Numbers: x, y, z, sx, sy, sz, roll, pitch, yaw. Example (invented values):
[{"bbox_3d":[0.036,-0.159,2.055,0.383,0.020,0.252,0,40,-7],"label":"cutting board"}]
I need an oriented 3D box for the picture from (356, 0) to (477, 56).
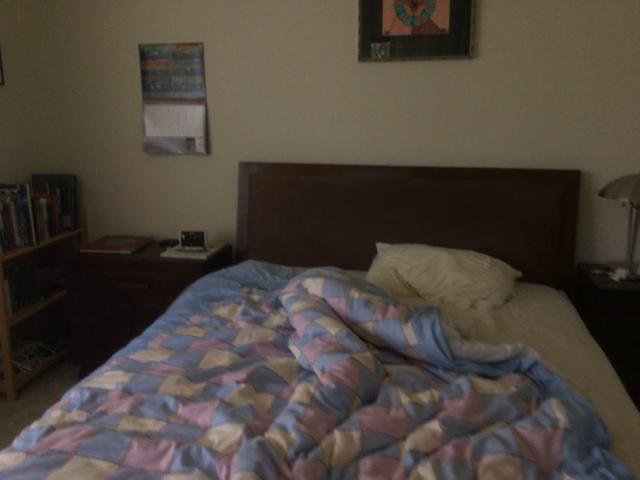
[{"bbox_3d":[0.420,-1.030,2.520,0.510,0.430,0.040,3,13,12],"label":"picture"}]
